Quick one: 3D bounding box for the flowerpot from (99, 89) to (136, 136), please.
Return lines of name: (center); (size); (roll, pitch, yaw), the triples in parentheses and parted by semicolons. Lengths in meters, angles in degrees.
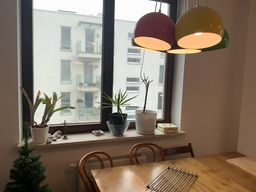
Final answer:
flowerpot: (-0.120, 0.170, 2.310); (0.360, 0.470, 0.180); (0, 7, -17)
